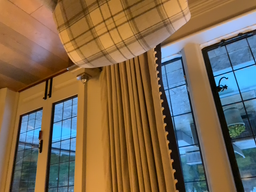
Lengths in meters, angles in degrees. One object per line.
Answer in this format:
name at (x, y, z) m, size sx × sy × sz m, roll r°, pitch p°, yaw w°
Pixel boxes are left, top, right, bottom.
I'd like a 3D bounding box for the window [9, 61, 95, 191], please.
window at (-0.960, 0.630, 2.680) m, size 1.250 × 2.040 × 0.090 m, roll -15°, pitch 153°, yaw 23°
